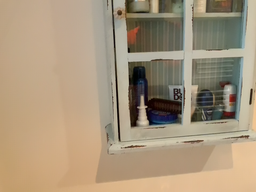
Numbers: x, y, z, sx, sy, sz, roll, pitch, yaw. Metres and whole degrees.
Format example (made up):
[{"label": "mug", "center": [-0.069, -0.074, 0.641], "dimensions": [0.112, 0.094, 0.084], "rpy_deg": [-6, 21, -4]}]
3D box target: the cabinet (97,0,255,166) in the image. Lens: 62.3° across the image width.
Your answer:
[{"label": "cabinet", "center": [0.130, -0.180, 0.520], "dimensions": [0.400, 0.640, 0.150], "rpy_deg": [-4, 13, -7]}]
